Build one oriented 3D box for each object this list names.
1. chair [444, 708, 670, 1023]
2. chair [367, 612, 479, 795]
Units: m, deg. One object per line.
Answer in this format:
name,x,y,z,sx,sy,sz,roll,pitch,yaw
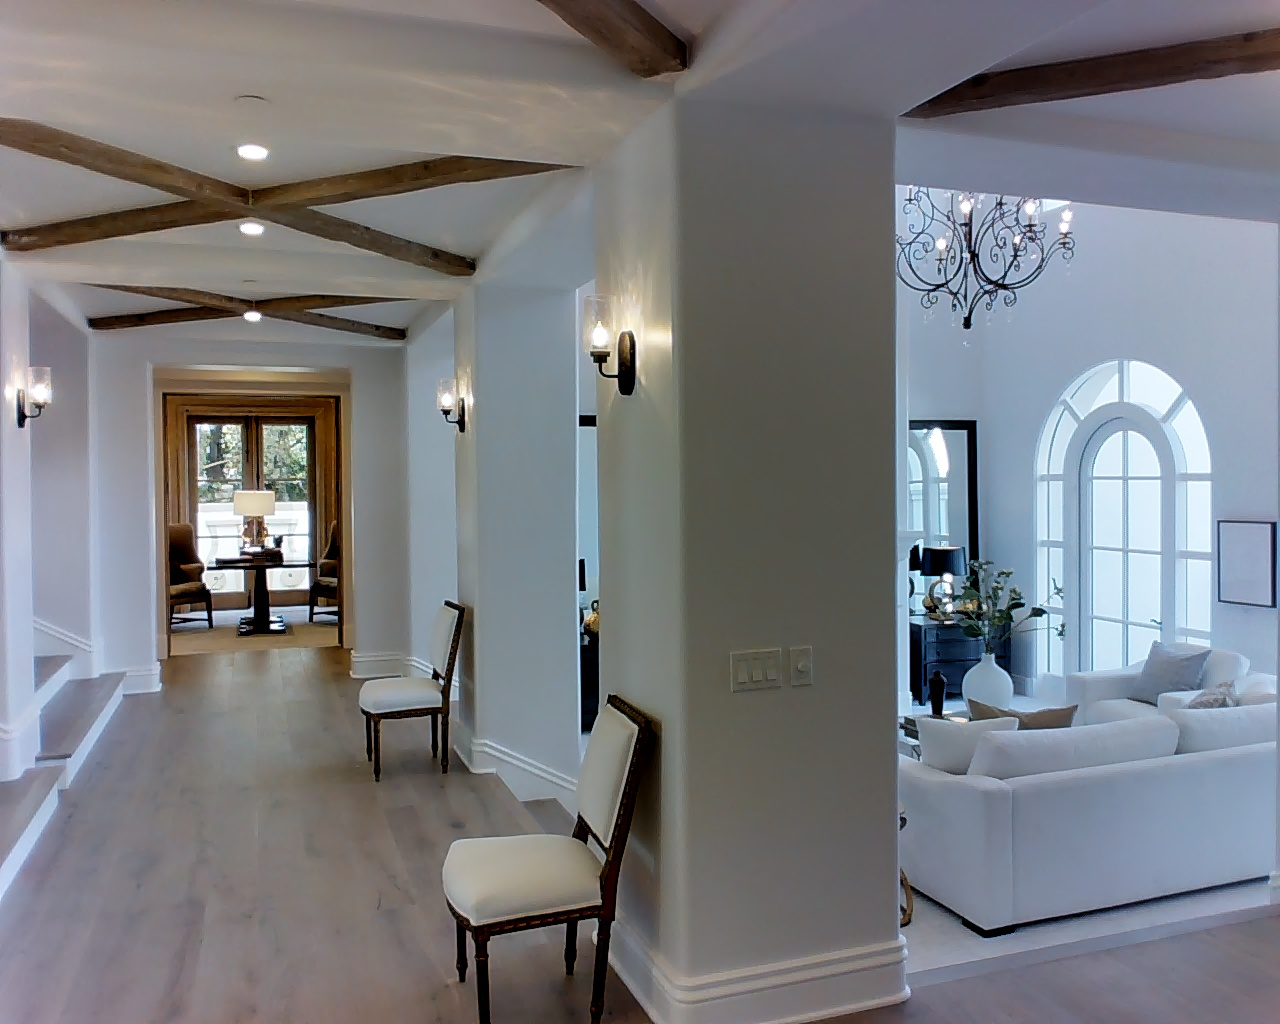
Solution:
chair,-0.270,1.110,3.320,0.580,0.870,0.510,-1,1,-19
chair,-1.230,1.050,6.040,0.550,0.900,0.490,-1,1,-19
